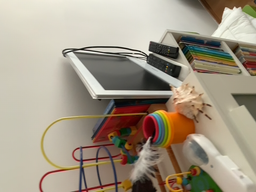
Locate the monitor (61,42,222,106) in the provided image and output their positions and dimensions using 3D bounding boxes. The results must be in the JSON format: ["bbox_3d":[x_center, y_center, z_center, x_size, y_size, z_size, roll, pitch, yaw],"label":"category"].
[{"bbox_3d":[-0.010,-0.110,0.820,0.590,0.400,0.040,45,129,56],"label":"monitor"}]

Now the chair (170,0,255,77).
[{"bbox_3d":[0.710,-0.410,1.400,0.390,0.660,0.370,-58,40,46],"label":"chair"}]
